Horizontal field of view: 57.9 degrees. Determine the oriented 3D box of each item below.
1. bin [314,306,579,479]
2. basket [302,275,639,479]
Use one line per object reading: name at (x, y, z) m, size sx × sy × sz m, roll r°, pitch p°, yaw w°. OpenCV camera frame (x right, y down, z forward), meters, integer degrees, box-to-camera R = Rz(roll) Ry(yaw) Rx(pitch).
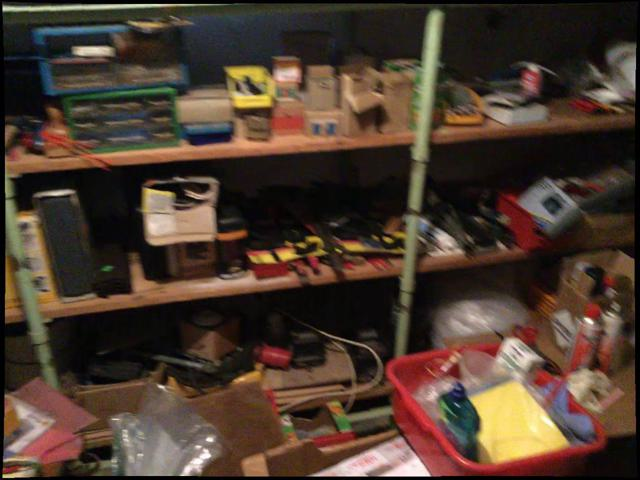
bin at (0.240, 0.440, 1.310) m, size 0.420 × 0.350 × 0.410 m, roll -7°, pitch 30°, yaw -11°
basket at (0.549, 0.551, 1.620) m, size 1.069 × 0.460 × 0.710 m, roll -7°, pitch 30°, yaw -11°
